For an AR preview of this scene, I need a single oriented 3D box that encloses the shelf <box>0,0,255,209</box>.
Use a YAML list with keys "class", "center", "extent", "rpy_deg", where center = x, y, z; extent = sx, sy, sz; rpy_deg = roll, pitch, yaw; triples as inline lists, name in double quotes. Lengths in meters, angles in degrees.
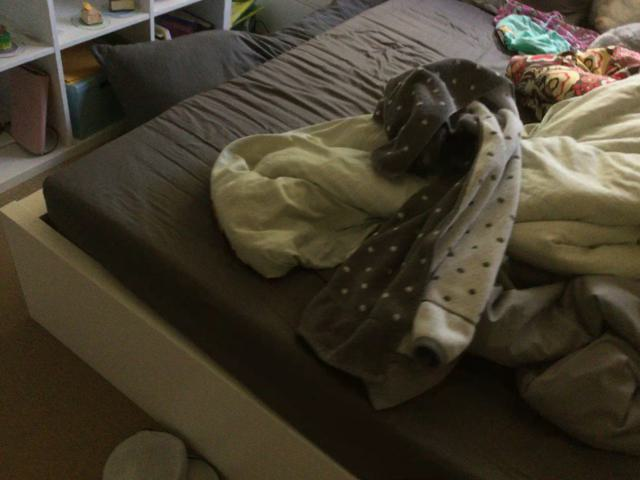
- class: "shelf"
  center: [-0.840, -0.670, 1.620]
  extent: [0.420, 0.890, 1.560]
  rpy_deg: [32, 48, 19]
